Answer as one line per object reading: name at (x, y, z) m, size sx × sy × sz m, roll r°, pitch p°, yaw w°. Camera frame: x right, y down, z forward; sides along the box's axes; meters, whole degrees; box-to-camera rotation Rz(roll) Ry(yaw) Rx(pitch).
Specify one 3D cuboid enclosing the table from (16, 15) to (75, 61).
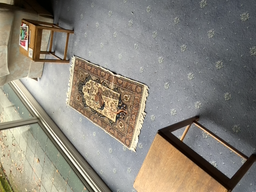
table at (-0.930, -0.640, 2.390) m, size 0.380 × 0.460 × 0.380 m, roll 29°, pitch 115°, yaw 35°

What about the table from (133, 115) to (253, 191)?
table at (0.400, 0.450, 1.320) m, size 0.420 × 0.480 × 0.420 m, roll 37°, pitch 119°, yaw 32°
